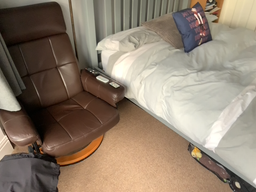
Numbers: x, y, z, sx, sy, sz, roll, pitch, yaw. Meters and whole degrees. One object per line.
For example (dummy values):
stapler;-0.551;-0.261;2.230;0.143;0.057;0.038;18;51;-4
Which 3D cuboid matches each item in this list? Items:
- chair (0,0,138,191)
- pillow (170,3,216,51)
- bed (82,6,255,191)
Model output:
chair;-0.530;-0.070;1.530;0.770;0.960;0.880;-27;45;-32
pillow;0.580;-0.610;1.870;0.380;0.310;0.120;-26;15;-31
bed;0.810;-0.130;1.930;1.490;0.650;2.080;-27;45;-32
